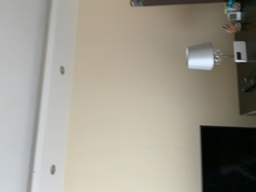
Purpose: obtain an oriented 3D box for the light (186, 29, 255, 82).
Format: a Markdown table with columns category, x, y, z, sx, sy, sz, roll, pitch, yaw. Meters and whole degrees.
| category | x | y | z | sx | sy | sz | roll | pitch | yaw |
| --- | --- | --- | --- | --- | --- | --- | --- | --- | --- |
| light | 0.730 | -0.310 | 1.680 | 0.280 | 0.480 | 0.320 | 60 | -147 | -76 |
